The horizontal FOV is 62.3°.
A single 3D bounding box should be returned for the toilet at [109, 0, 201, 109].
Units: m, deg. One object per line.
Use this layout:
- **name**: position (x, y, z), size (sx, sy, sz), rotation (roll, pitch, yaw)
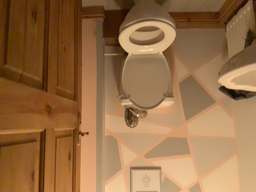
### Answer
- **toilet**: position (0.140, -0.340, 1.490), size (0.470, 0.810, 0.700), rotation (-1, 173, 1)
